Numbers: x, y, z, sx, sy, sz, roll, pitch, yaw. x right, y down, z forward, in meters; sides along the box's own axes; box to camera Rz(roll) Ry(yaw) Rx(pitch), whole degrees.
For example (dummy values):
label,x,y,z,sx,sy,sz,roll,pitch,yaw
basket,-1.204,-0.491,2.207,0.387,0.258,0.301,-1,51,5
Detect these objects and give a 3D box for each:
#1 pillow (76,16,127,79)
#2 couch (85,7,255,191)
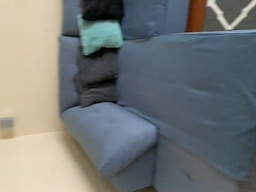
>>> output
label,x,y,z,sx,sy,sz,roll,pitch,yaw
pillow,-0.240,-0.420,1.900,0.190,0.400,0.490,-121,35,-75
couch,0.300,0.170,1.320,0.850,0.830,1.150,27,115,56
